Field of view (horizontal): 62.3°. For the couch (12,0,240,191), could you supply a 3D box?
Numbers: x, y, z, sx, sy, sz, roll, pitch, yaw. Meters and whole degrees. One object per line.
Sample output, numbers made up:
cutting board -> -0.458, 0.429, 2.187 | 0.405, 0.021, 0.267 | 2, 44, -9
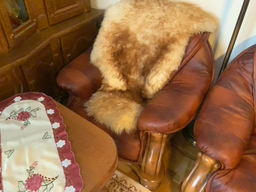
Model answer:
couch -> 0.020, -0.080, 1.570 | 1.020, 0.930, 0.930 | 25, 45, 25
